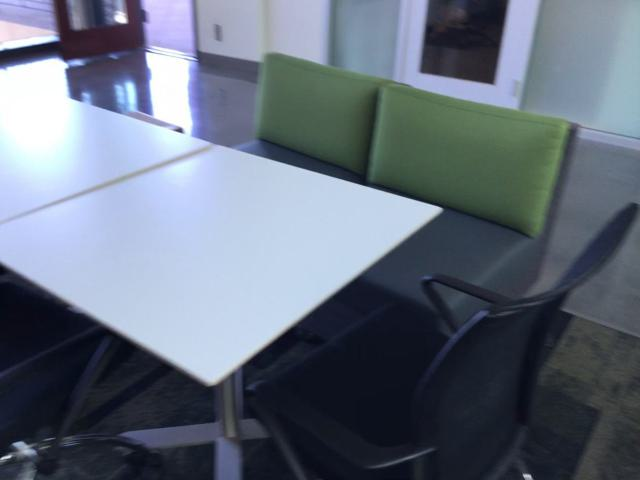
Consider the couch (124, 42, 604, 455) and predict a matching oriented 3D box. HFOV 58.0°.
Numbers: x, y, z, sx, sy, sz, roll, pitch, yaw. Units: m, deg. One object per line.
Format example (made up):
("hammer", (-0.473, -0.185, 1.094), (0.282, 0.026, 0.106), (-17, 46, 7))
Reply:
("couch", (0.070, -0.130, 2.080), (1.380, 0.870, 0.770), (23, 32, 33))
